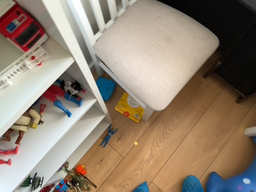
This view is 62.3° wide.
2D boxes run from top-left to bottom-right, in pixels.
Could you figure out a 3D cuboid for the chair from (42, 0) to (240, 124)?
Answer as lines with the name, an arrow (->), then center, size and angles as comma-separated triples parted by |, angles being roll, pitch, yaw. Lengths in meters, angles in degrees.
chair -> 0.050, -0.270, 0.860 | 0.460, 0.930, 0.460 | 41, 78, 8
